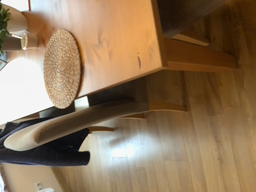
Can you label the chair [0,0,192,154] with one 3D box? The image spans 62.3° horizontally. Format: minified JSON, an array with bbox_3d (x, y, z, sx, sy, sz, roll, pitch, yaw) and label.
[{"bbox_3d":[-0.160,-0.100,1.220,0.510,0.940,0.620,-18,80,45],"label":"chair"}]
